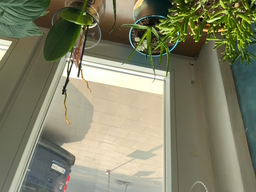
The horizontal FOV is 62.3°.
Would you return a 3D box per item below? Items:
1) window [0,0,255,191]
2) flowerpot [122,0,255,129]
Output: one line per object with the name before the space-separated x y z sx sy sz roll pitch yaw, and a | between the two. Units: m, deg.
window | -0.350 0.560 0.250 1.350 2.060 0.160 10 144 -4
flowerpot | 0.180 -0.180 0.540 0.290 0.350 0.370 12 144 -6
